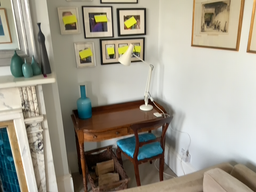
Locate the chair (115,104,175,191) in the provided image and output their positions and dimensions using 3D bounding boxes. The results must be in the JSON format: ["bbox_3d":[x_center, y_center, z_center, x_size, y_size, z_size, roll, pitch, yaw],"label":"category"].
[{"bbox_3d":[0.170,0.560,2.360,0.480,0.770,0.450,-8,20,-20],"label":"chair"}]
